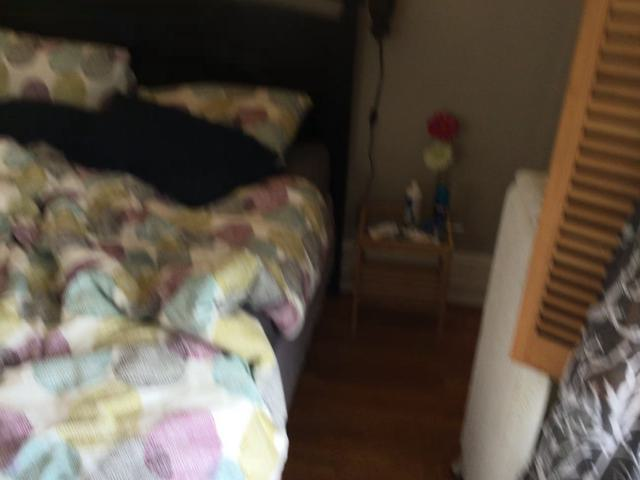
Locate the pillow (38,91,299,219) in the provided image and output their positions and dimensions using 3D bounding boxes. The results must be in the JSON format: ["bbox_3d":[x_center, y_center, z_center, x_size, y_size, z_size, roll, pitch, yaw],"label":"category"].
[{"bbox_3d":[-0.450,-0.310,1.930,0.670,0.200,0.570,7,25,4],"label":"pillow"}]

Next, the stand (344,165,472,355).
[{"bbox_3d":[0.340,0.070,2.360,0.390,0.610,0.410,7,25,4],"label":"stand"}]

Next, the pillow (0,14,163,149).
[{"bbox_3d":[-1.040,-0.630,2.250,0.790,0.410,0.230,7,25,4],"label":"pillow"}]

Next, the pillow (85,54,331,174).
[{"bbox_3d":[-0.390,-0.490,2.170,0.800,0.280,0.400,7,25,4],"label":"pillow"}]
